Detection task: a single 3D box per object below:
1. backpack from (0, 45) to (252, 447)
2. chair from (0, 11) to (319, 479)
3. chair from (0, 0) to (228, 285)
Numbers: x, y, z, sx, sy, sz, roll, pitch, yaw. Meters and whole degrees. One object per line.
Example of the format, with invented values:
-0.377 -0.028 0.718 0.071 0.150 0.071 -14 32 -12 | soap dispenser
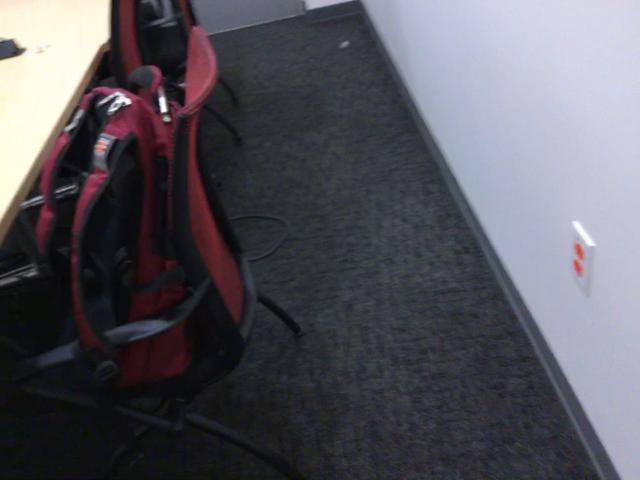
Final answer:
-0.350 0.000 1.000 0.360 0.470 0.440 -11 37 1 | backpack
-0.360 0.080 1.170 0.550 0.800 0.590 -11 37 1 | chair
-0.660 -0.400 1.920 0.480 0.840 0.600 -11 37 1 | chair
